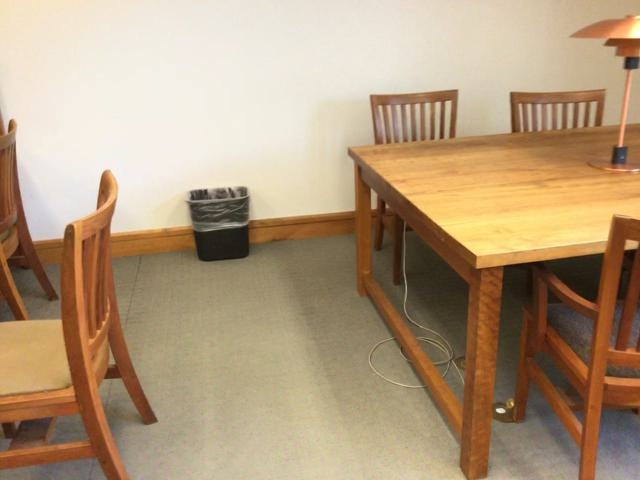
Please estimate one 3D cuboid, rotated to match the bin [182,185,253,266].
[{"bbox_3d":[-0.590,-0.090,3.330,0.380,0.400,0.270,-2,17,-12],"label":"bin"}]
